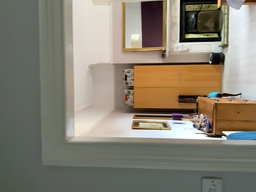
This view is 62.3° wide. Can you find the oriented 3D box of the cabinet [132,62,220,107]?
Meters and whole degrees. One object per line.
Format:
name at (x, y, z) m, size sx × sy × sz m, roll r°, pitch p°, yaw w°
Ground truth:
cabinet at (1.100, -0.280, 5.190) m, size 0.650 × 1.980 × 1.030 m, roll -45°, pitch -45°, yaw -83°
